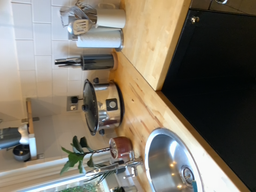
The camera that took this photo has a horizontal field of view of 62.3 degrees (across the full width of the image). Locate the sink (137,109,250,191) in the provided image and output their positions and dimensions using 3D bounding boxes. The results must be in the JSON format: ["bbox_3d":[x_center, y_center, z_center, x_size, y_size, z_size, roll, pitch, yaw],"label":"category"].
[{"bbox_3d":[0.260,0.370,1.040,0.440,0.170,0.410,54,142,45],"label":"sink"}]

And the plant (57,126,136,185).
[{"bbox_3d":[-0.200,0.360,1.330,0.200,0.430,0.180,61,146,38],"label":"plant"}]

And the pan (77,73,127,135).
[{"bbox_3d":[-0.200,0.060,1.500,0.310,0.210,0.330,-46,55,57],"label":"pan"}]
